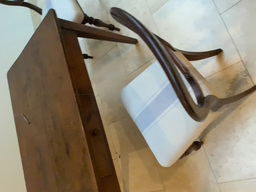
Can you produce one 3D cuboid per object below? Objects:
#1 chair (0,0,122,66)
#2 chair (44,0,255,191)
[{"bbox_3d":[-0.610,-0.660,1.700,0.480,0.860,0.590,-39,66,36],"label":"chair"},{"bbox_3d":[0.200,-0.020,0.960,0.590,0.830,0.470,-49,60,32],"label":"chair"}]
